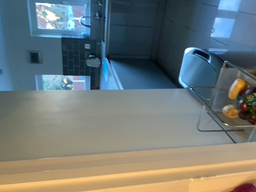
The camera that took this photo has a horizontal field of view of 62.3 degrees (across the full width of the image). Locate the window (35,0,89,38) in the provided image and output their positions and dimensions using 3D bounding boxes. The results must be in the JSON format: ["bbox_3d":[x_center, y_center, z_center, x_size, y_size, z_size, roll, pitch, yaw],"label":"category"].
[{"bbox_3d":[-1.100,-1.830,3.550,0.110,0.870,1.640,-118,30,-60],"label":"window"}]

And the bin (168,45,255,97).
[{"bbox_3d":[0.670,-0.180,1.460,0.310,0.670,0.240,-117,29,-60],"label":"bin"}]
